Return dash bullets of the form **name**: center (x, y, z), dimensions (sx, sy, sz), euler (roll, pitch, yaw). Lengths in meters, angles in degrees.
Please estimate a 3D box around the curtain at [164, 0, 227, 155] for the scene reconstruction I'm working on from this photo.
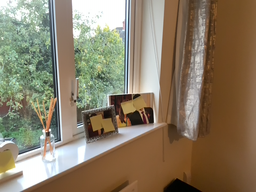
- **curtain**: center (0.460, -0.430, 1.400), dimensions (0.230, 1.610, 0.270), euler (14, 18, 43)
